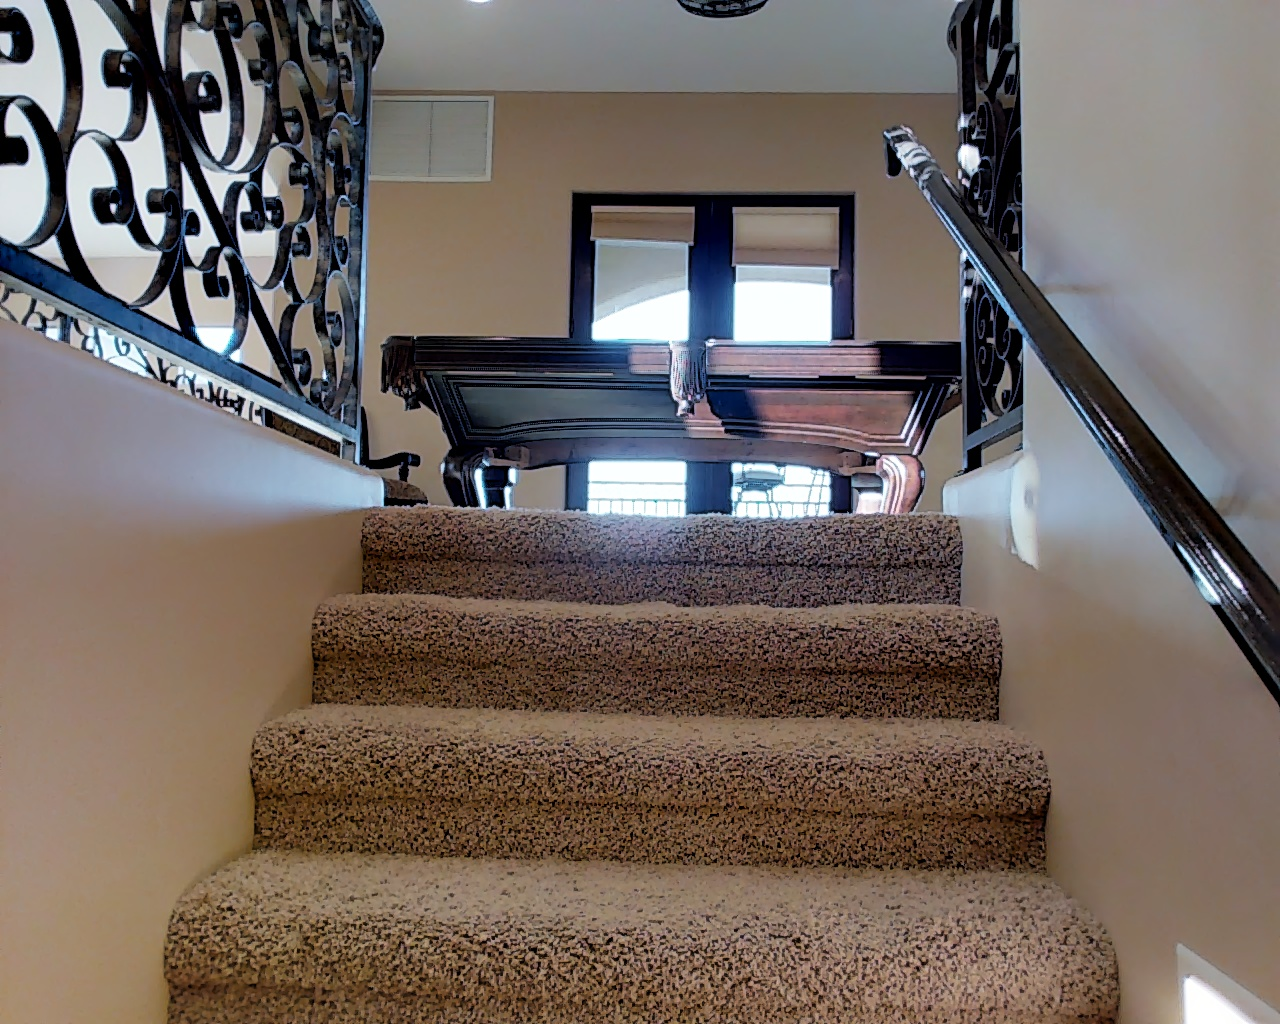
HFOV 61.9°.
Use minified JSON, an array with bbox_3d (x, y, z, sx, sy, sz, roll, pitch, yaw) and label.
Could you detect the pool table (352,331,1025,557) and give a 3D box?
[{"bbox_3d":[0.190,-0.220,4.430,2.350,0.740,1.350,1,-5,3],"label":"pool table"}]
